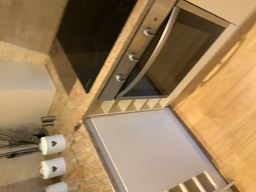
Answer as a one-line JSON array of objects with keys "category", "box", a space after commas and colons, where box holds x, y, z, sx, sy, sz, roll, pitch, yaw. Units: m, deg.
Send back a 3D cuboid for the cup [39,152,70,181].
[{"category": "cup", "box": [-0.450, 0.430, 1.290, 0.150, 0.110, 0.120, -32, 69, 43]}]
